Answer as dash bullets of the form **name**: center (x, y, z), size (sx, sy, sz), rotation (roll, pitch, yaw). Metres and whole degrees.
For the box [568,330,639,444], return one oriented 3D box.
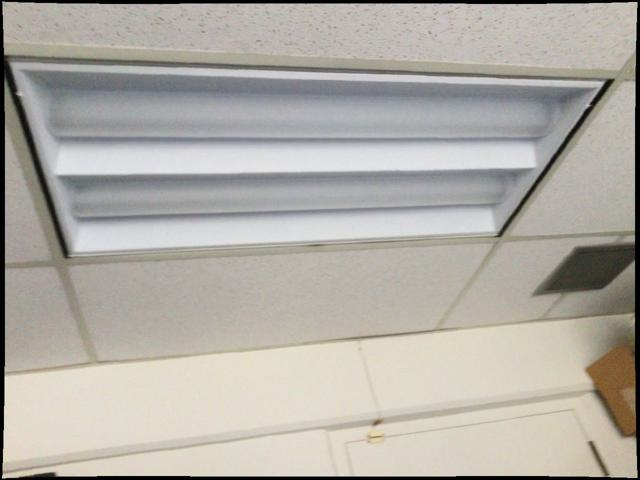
- **box**: center (1.097, 0.541, 2.110), size (0.100, 0.300, 0.300), rotation (-3, -36, -16)
